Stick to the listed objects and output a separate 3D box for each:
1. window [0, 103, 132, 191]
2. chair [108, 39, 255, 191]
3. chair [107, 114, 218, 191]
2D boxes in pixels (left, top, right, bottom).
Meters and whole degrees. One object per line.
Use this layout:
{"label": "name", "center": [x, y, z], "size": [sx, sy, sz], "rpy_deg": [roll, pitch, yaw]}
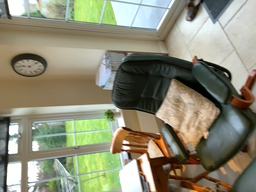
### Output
{"label": "window", "center": [-0.690, 0.870, 2.370], "size": [0.090, 1.430, 1.650], "rpy_deg": [126, 137, -56]}
{"label": "chair", "center": [0.470, 0.100, 1.530], "size": [0.740, 0.980, 0.660], "rpy_deg": [-115, 31, -43]}
{"label": "chair", "center": [0.310, 0.620, 2.220], "size": [0.490, 0.860, 0.630], "rpy_deg": [112, 148, -44]}
